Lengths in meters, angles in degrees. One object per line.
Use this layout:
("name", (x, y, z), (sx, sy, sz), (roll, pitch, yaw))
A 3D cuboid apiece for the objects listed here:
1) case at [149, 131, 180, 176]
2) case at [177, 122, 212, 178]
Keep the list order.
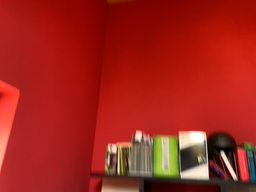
("case", (0.310, 0.480, 1.740), (0.200, 0.320, 0.360), (-3, -21, 16))
("case", (0.520, 0.440, 1.680), (0.210, 0.380, 0.400), (-3, -21, 16))
